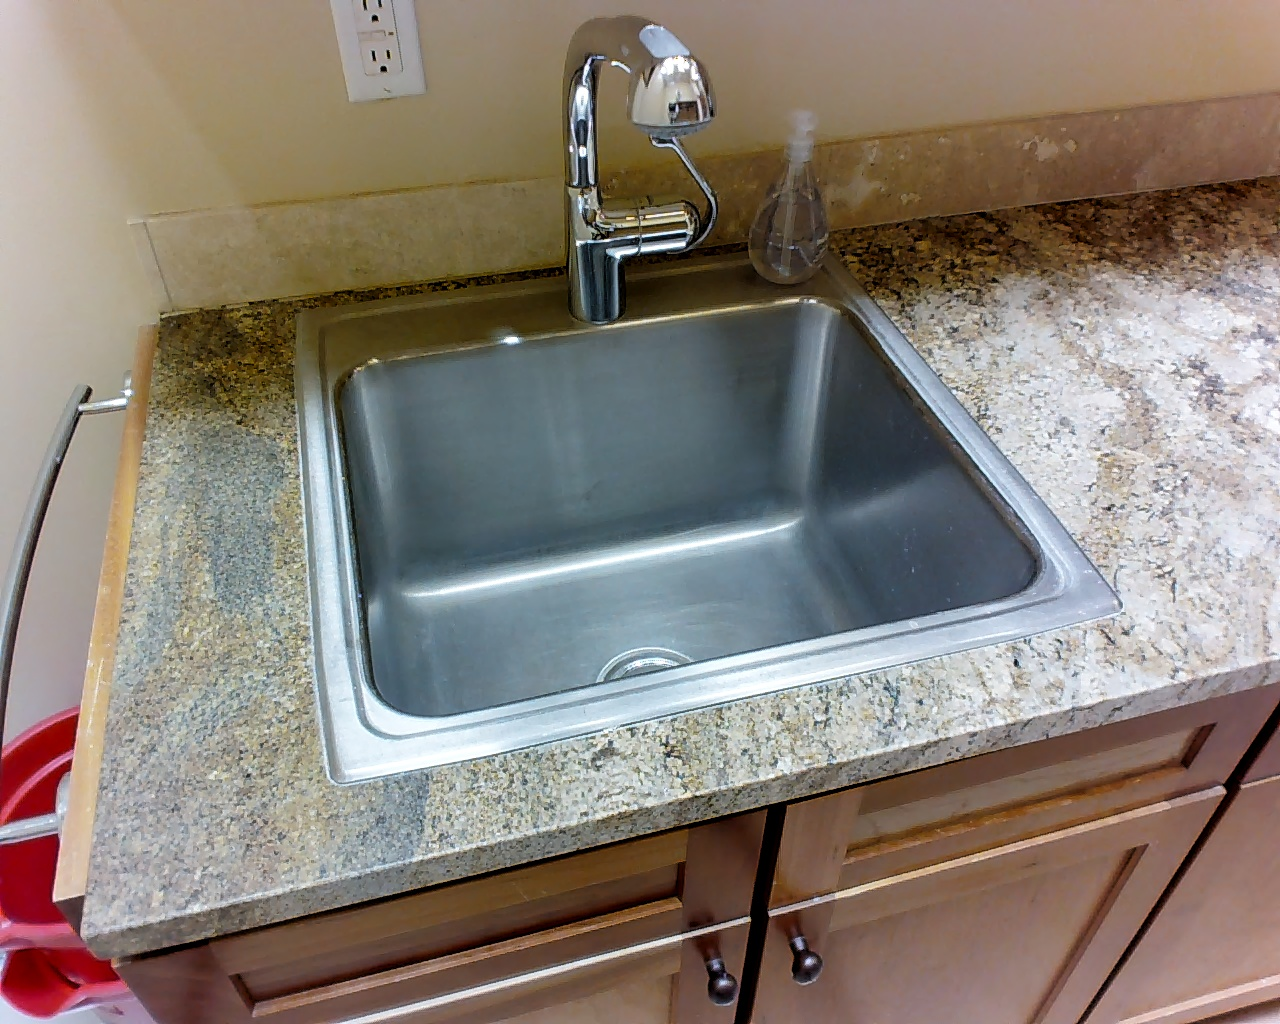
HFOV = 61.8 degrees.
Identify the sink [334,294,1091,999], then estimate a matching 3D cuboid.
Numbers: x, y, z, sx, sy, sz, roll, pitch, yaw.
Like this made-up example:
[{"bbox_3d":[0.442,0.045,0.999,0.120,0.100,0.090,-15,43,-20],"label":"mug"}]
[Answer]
[{"bbox_3d":[0.020,0.090,0.960,0.490,0.330,0.430,-10,43,-12],"label":"sink"}]
